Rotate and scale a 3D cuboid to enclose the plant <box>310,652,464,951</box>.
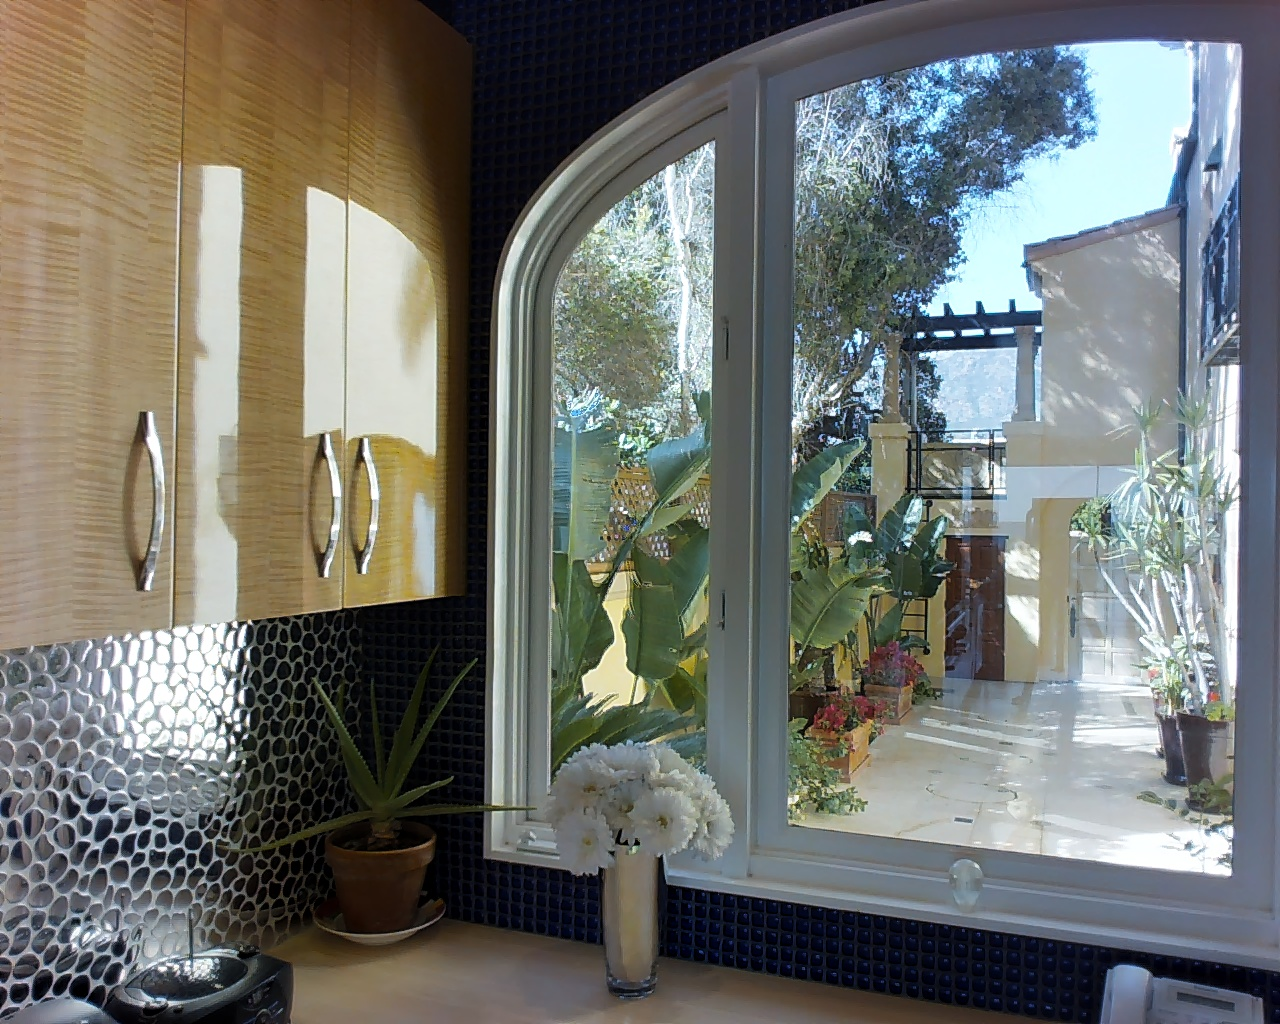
[{"bbox_3d":[-0.460,0.520,1.980,0.240,0.500,0.180,1,0,-2],"label":"plant"}]

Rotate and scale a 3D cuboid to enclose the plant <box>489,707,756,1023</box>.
[{"bbox_3d":[-0.020,0.570,1.780,0.340,0.420,0.310,0,0,24],"label":"plant"}]

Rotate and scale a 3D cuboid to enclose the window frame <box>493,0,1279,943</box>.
[{"bbox_3d":[0.610,-0.100,1.820,1.769,1.421,0.310,0,0,22],"label":"window frame"}]
